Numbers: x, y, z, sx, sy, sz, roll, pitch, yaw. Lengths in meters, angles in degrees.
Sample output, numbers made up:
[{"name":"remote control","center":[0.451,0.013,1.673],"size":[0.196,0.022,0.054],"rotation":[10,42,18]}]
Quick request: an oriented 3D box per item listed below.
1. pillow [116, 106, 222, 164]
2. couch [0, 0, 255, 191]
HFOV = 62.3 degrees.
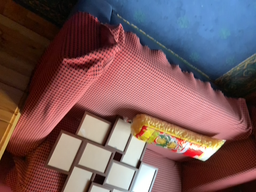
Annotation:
[{"name":"pillow","center":[0.260,0.260,1.310],"size":[0.640,0.110,0.190],"rotation":[22,135,-20]},{"name":"couch","center":[0.080,0.280,1.400],"size":[1.490,0.810,1.070],"rotation":[27,133,-25]}]
